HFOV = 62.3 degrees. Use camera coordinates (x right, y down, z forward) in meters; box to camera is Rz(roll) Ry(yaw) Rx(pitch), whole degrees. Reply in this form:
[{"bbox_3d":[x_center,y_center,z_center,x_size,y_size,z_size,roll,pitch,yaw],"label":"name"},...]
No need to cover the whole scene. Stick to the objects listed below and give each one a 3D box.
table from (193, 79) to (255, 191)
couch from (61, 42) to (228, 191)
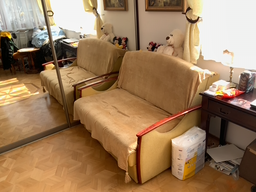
[{"bbox_3d":[1.060,0.380,1.720,0.410,0.740,0.920,-19,29,-29],"label":"table"},{"bbox_3d":[0.110,0.030,2.380,1.130,0.930,1.330,-19,29,-29],"label":"couch"}]
